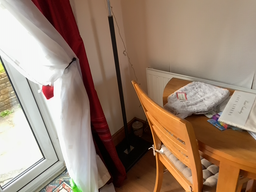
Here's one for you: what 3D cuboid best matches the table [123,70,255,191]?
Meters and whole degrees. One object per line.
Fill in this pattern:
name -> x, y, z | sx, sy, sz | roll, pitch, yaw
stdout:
table -> 0.510, 0.400, 1.100 | 0.870, 0.780, 0.510 | 19, 39, 37
